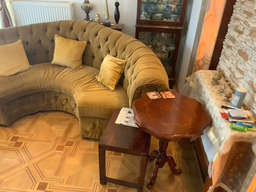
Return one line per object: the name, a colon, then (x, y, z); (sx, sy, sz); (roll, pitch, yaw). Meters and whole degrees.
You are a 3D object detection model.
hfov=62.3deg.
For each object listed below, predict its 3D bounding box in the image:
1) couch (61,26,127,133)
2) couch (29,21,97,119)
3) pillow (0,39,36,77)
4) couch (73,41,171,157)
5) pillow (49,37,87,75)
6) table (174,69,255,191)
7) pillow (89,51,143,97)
couch: (-0.320, -0.250, 2.480); (0.400, 0.840, 1.000); (8, 32, 8)
couch: (-0.700, -0.350, 2.580); (0.370, 0.870, 0.840); (8, 32, 8)
pillow: (-1.340, -0.450, 2.430); (0.250, 0.280, 0.400); (26, 38, 32)
couch: (0.000, -0.030, 2.230); (0.770, 0.770, 0.890); (8, 32, 8)
pillow: (-0.710, -0.490, 2.570); (0.310, 0.380, 0.240); (6, 33, 13)
table: (0.650, 0.310, 1.780); (0.310, 0.730, 0.930); (4, 32, 2)
pillow: (-0.130, -0.250, 2.250); (0.480, 0.260, 0.300); (26, 39, 32)
